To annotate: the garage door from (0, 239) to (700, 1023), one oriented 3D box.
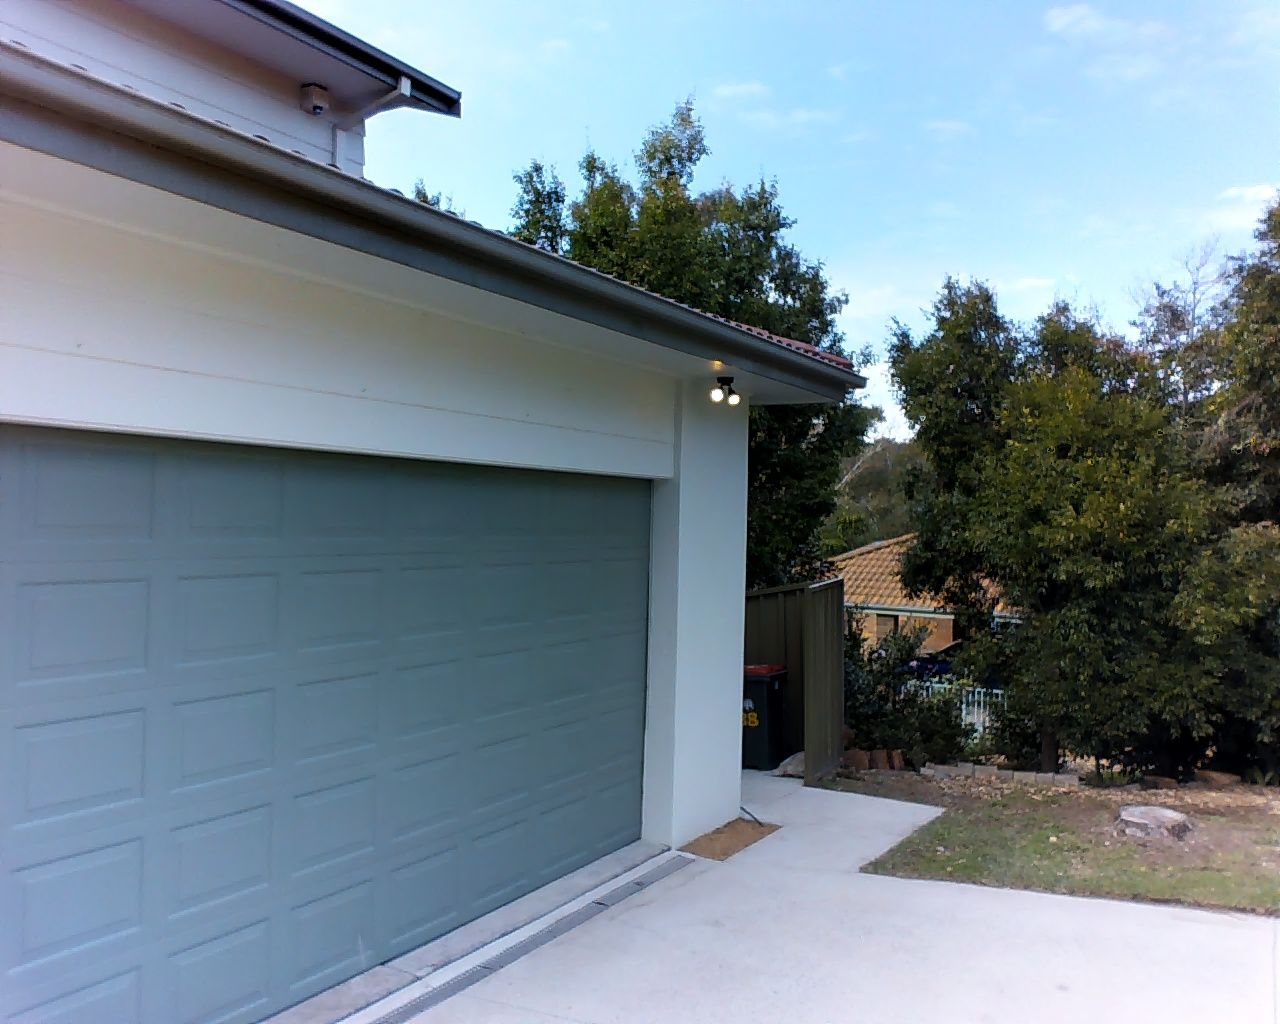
[{"bbox_3d":[-1.430,0.630,5.140,1.000,2.911,5.370,1,0,31],"label":"garage door"}]
